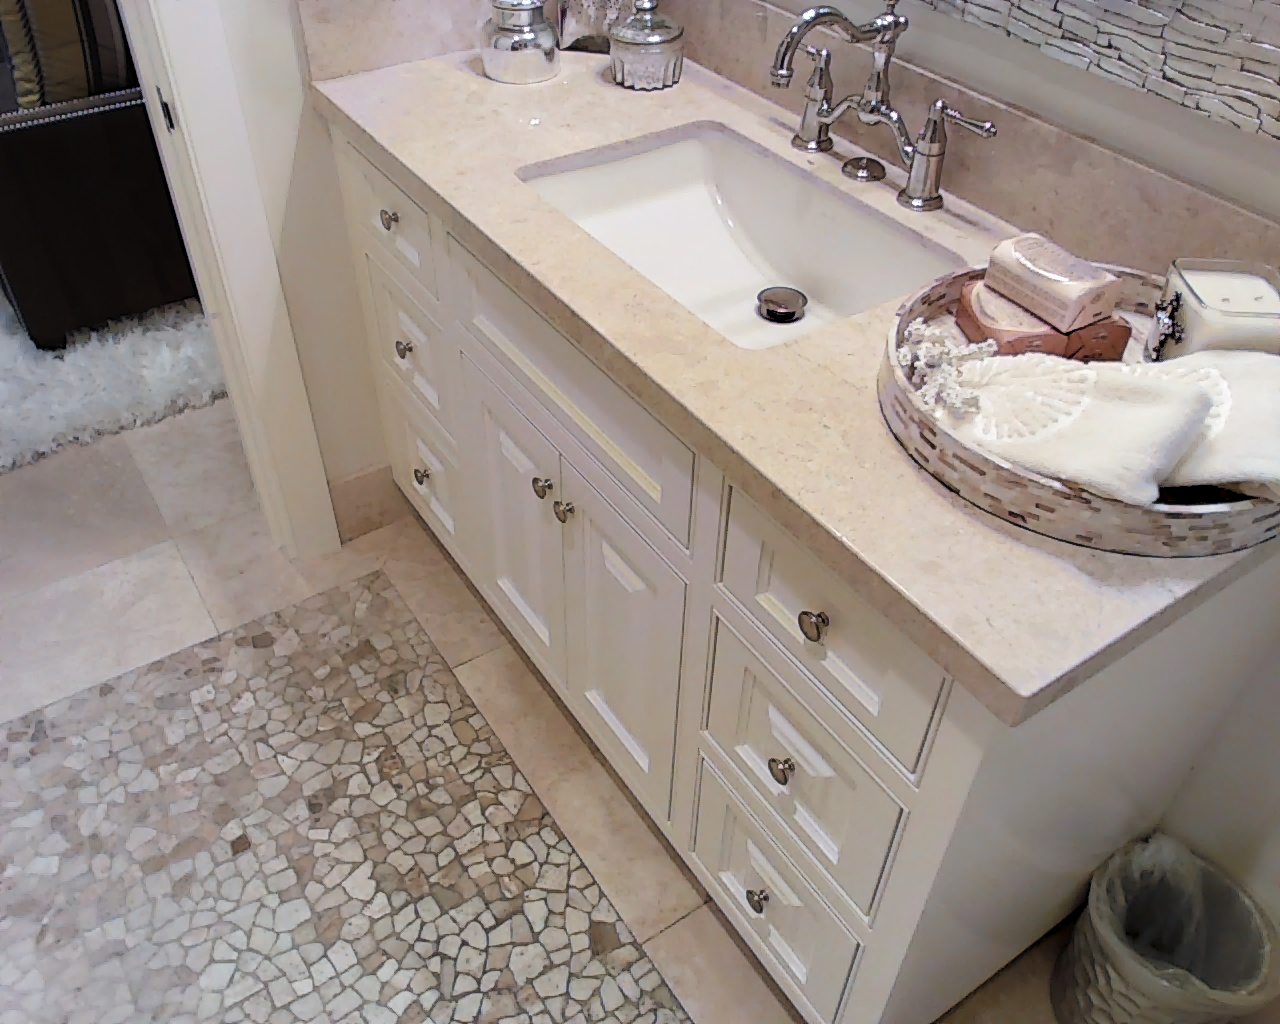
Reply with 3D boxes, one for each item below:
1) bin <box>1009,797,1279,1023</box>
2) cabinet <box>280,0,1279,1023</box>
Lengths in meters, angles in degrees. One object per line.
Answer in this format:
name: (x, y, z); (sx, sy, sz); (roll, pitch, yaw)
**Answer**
bin: (0.700, 0.610, 1.400); (0.240, 0.320, 0.250); (-23, 47, -25)
cabinet: (0.120, -0.030, 1.580); (0.610, 1.030, 1.420); (-23, 47, -25)
